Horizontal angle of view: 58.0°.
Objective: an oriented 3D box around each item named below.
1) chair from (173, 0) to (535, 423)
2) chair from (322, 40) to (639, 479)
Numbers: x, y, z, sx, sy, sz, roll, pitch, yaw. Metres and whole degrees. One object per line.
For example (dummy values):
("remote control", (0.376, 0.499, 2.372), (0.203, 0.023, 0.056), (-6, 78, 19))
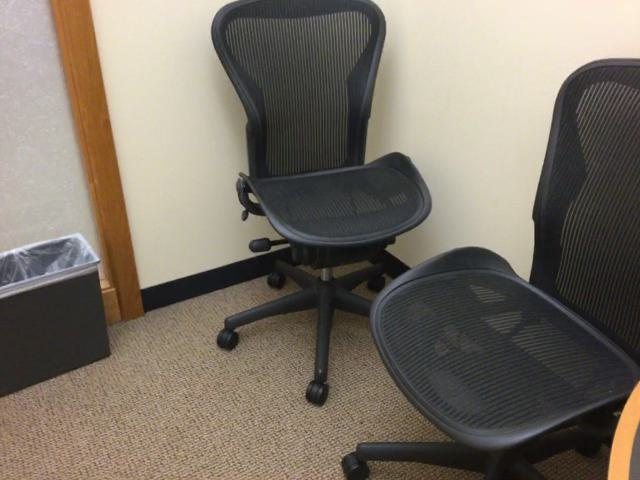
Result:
("chair", (0.050, -0.180, 1.800), (0.710, 1.060, 0.700), (-14, 31, -27))
("chair", (0.470, 0.190, 1.190), (0.700, 1.030, 0.650), (-12, 30, -24))
